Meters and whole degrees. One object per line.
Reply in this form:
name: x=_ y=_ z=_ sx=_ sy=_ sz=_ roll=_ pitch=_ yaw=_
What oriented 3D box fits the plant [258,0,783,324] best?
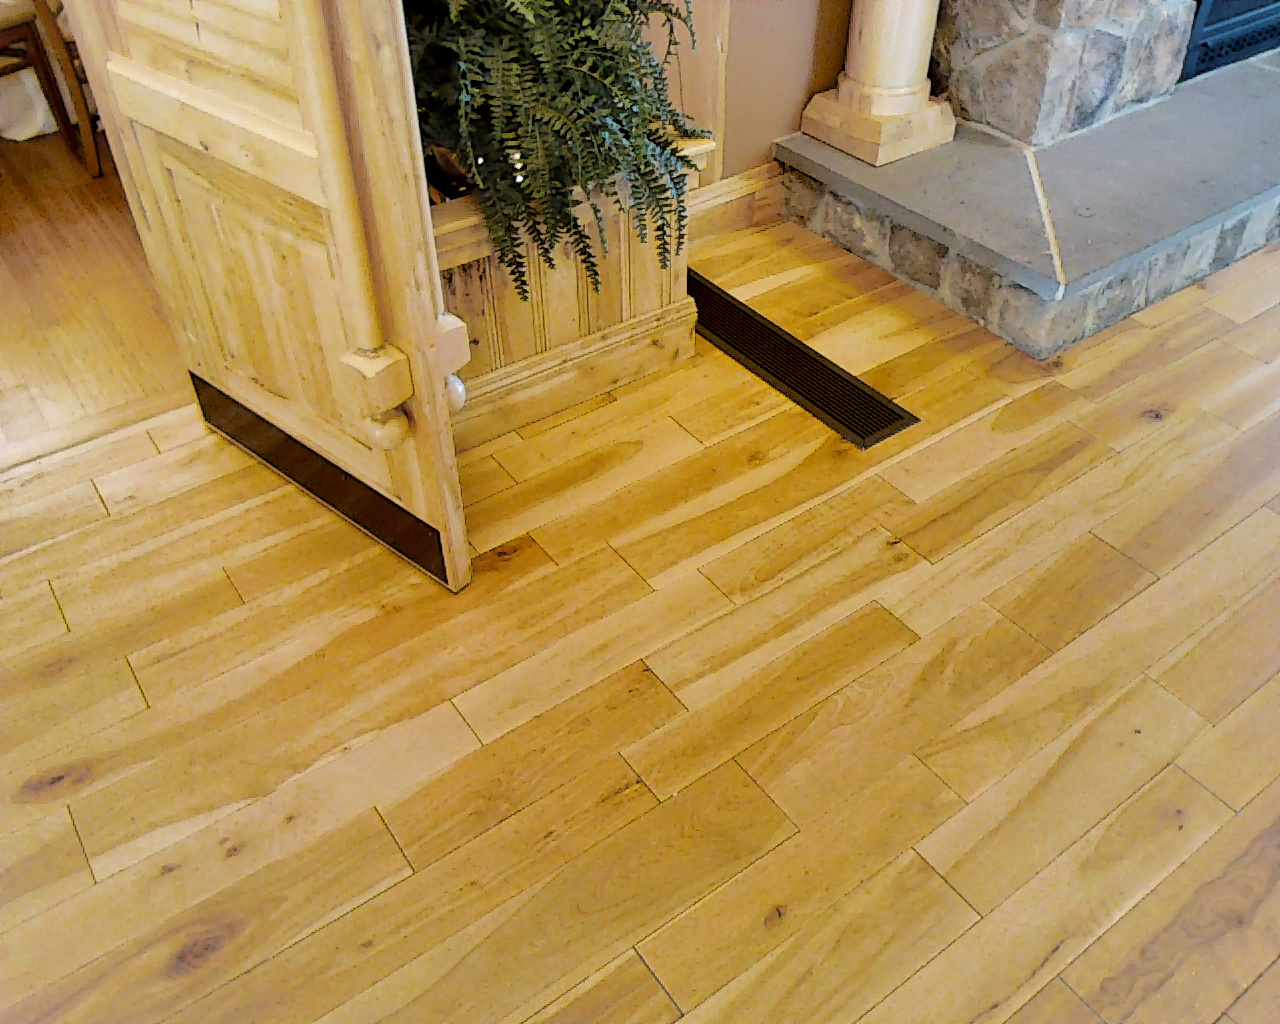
plant: x=-0.240 y=-0.910 z=2.250 sx=0.840 sy=0.570 sz=0.630 roll=-26 pitch=48 yaw=-26
